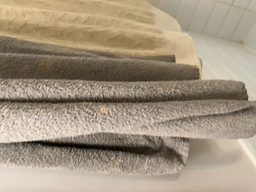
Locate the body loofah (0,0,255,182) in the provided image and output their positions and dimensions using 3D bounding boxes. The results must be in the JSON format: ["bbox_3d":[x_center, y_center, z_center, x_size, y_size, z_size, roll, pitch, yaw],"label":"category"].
[{"bbox_3d":[-0.160,-0.210,0.650,0.880,0.820,0.190,-106,28,-46],"label":"body loofah"}]
